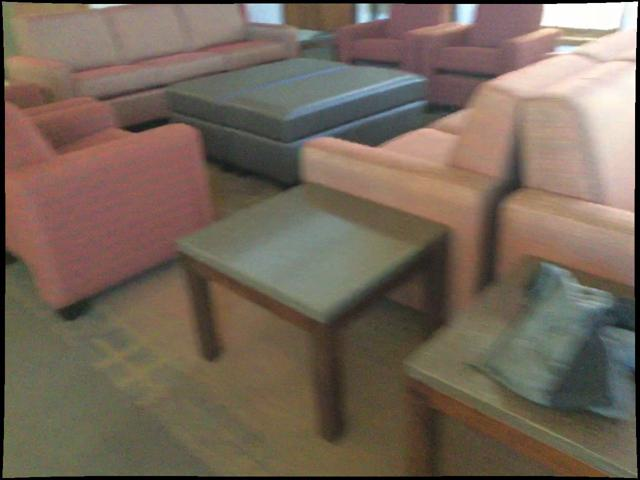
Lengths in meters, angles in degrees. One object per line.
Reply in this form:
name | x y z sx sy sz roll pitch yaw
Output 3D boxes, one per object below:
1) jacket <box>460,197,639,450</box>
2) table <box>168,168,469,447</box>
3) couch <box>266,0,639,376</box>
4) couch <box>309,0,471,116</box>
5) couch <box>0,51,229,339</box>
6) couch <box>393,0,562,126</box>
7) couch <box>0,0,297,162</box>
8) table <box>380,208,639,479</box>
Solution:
jacket | 0.689 0.160 1.210 0.550 0.200 0.550 23 36 37
table | 0.000 0.150 1.930 0.680 0.470 0.660 23 36 37
couch | 0.909 -0.501 2.610 0.880 0.921 2.229 23 37 38
couch | 0.559 -1.612 4.740 0.960 0.851 0.860 23 36 37
couch | -1.069 -0.290 2.520 1.010 0.811 0.810 23 37 38
couch | 1.149 -1.431 4.300 0.860 0.841 0.810 23 36 37
couch | -1.229 -1.441 4.630 0.830 0.931 2.089 23 36 37
table | 0.629 0.380 1.370 0.700 0.560 0.650 23 36 37
